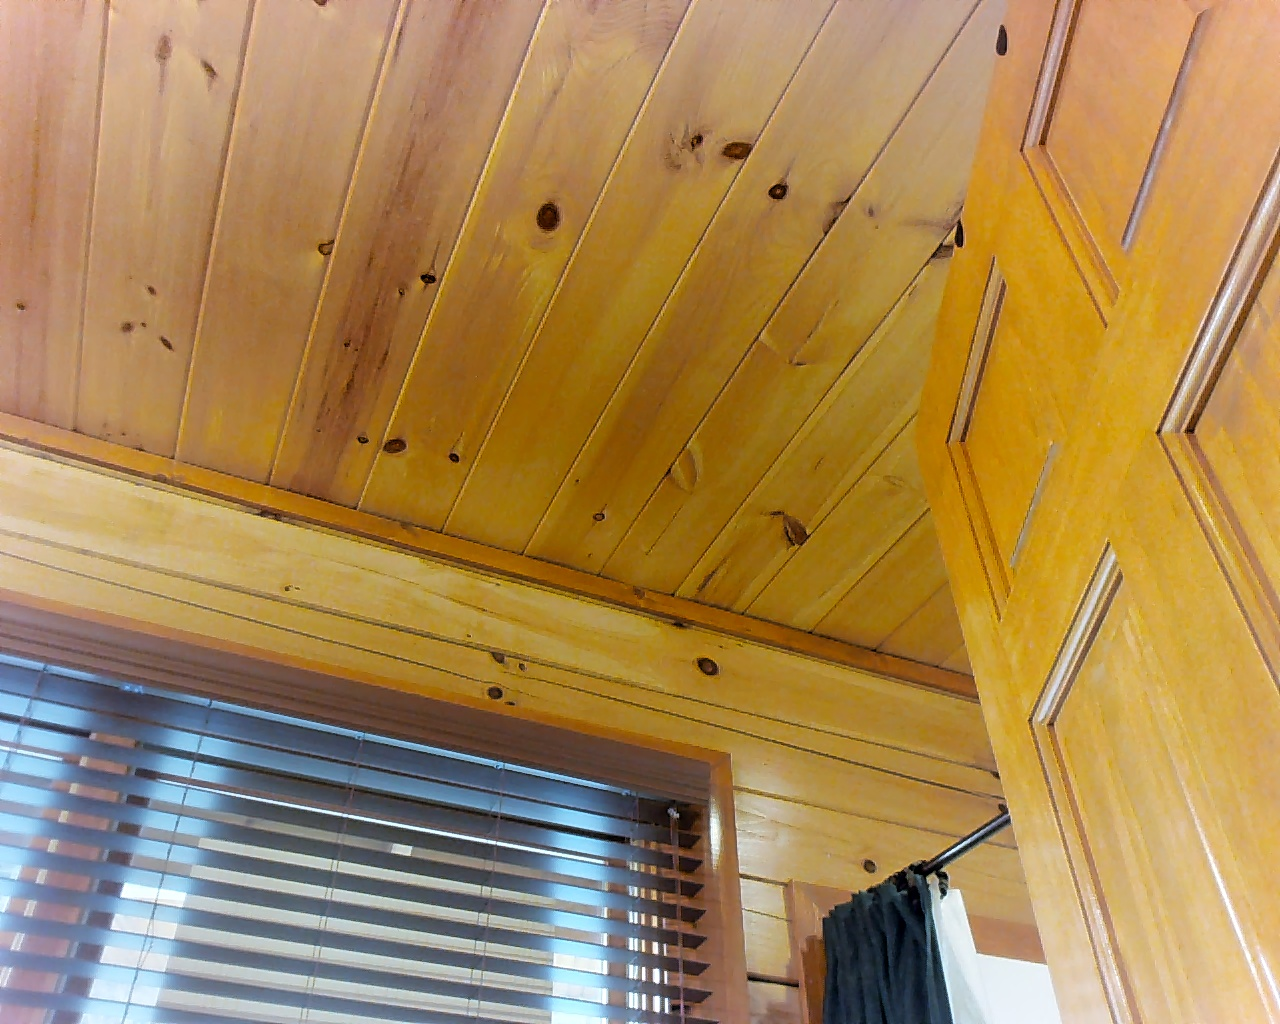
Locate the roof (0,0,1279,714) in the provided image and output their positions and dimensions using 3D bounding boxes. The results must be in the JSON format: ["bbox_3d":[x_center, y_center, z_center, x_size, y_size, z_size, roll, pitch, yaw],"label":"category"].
[{"bbox_3d":[-0.220,-0.530,1.560,3.760,0.050,1.710,16,-44,-17],"label":"roof"}]
